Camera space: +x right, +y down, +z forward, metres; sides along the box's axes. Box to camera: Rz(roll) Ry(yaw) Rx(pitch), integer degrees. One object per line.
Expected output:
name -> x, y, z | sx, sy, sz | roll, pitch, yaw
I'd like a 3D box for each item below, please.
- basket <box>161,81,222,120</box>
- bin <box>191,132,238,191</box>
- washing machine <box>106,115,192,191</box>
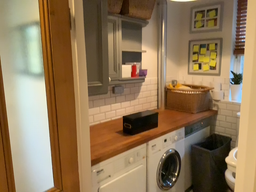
basket -> 0.810, 0.030, 2.770 | 0.640, 0.380, 0.400 | 9, 14, 44
bin -> 1.020, 0.810, 2.480 | 0.650, 0.600, 0.240 | -9, 13, -43
washing machine -> 0.220, 0.730, 2.300 | 0.640, 0.840, 0.640 | -10, 14, -44
